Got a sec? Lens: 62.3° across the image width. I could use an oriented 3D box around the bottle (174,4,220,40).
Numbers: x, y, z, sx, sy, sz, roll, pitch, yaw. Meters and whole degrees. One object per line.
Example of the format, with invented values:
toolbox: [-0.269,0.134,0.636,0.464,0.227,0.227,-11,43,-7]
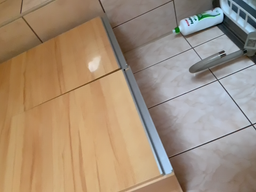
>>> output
bottle: [0.370,-0.400,1.140,0.070,0.210,0.100,62,-174,-48]
